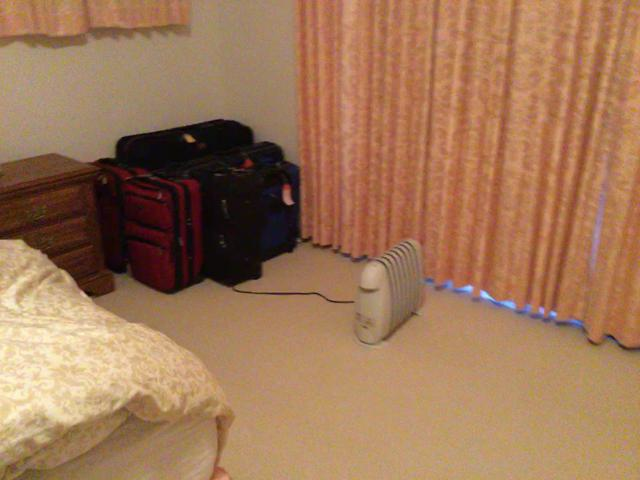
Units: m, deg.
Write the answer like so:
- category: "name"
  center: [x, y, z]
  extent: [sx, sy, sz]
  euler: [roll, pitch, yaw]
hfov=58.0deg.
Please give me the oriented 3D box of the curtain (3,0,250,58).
- category: "curtain"
  center: [-0.960, -1.490, 2.930]
  extent: [0.270, 1.000, 1.250]
  euler: [15, 27, 40]
